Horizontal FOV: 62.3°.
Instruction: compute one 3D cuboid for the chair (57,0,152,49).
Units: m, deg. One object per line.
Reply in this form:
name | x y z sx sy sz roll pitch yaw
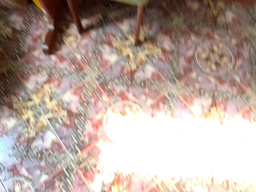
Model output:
chair | -0.090 -0.710 1.070 0.480 0.880 0.470 8 71 2
